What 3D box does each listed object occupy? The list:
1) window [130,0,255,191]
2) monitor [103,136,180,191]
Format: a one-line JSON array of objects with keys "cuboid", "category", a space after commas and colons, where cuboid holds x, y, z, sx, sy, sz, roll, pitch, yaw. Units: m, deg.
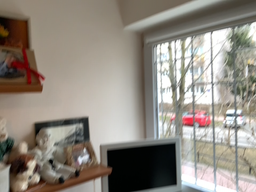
[{"cuboid": [0.950, 0.130, 0.630, 0.180, 1.250, 2.490, -2, 2, -43], "category": "window"}, {"cuboid": [0.090, 0.450, 1.240, 0.460, 0.390, 0.030, -2, 1, -16], "category": "monitor"}]
